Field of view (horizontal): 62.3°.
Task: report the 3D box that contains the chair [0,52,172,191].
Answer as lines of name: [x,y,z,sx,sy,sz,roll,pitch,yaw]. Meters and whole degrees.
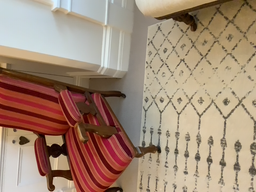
chair: [-0.410,0.290,1.530,0.640,0.970,0.870,-53,52,30]
